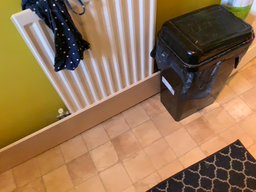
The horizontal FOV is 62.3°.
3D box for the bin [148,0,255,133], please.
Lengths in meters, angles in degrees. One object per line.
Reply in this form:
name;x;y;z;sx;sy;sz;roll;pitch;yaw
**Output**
bin;0.360;-0.130;1.230;0.360;0.620;0.330;-27;59;-13
